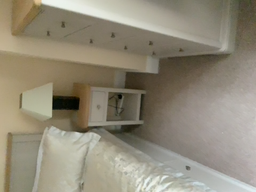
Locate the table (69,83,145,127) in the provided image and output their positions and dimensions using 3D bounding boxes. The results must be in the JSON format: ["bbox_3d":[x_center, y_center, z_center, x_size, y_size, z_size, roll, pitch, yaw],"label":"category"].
[{"bbox_3d":[-0.220,0.080,2.200,0.430,0.630,0.370,10,96,55],"label":"table"}]
